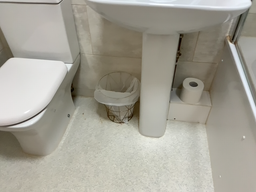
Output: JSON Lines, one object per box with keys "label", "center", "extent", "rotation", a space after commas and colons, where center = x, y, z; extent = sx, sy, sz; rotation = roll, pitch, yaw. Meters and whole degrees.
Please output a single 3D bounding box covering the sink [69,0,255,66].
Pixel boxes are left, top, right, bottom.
{"label": "sink", "center": [0.130, -0.350, 0.850], "extent": [0.560, 0.180, 0.450], "rotation": [6, 44, 7]}
